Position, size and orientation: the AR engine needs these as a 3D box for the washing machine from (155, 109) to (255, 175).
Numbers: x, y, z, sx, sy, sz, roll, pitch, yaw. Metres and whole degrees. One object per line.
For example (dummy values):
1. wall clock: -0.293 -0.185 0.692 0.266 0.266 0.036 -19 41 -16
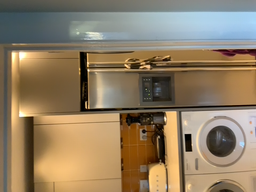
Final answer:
1. washing machine: 0.840 0.450 2.370 0.720 0.910 0.580 142 127 -84
